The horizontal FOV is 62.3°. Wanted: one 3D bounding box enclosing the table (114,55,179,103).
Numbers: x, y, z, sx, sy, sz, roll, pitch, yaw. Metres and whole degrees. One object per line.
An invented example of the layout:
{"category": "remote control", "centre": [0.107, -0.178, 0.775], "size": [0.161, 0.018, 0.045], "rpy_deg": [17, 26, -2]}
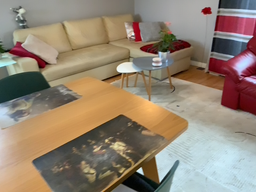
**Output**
{"category": "table", "centre": [0.250, -0.250, 2.900], "size": [0.770, 0.470, 0.560], "rpy_deg": [1, 27, 5]}
